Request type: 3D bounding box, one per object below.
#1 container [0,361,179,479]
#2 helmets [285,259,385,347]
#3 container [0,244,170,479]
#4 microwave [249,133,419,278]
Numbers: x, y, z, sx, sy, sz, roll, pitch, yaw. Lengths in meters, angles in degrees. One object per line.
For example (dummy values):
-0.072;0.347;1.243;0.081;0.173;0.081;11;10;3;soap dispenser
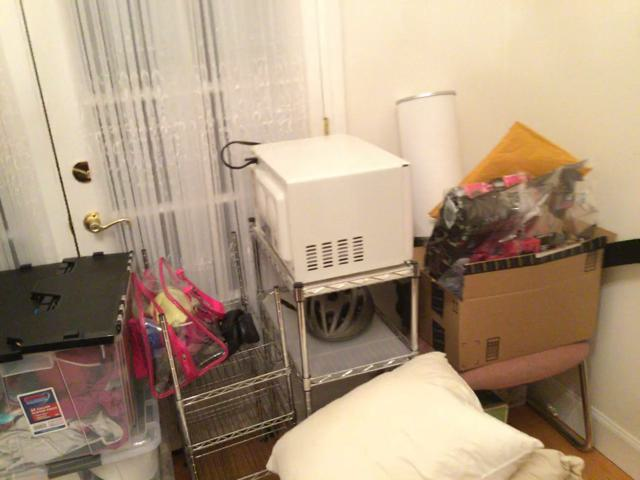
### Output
-0.600;0.610;1.550;0.400;0.330;0.400;-12;18;-18;container
0.040;0.180;1.730;0.210;0.140;0.250;-12;18;-18;helmets
-0.690;0.330;1.470;0.470;0.420;0.580;-12;18;-18;container
0.010;-0.130;1.620;0.320;0.270;0.560;-9;15;-11;microwave
